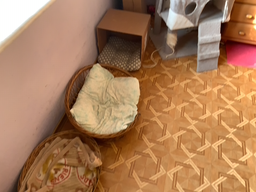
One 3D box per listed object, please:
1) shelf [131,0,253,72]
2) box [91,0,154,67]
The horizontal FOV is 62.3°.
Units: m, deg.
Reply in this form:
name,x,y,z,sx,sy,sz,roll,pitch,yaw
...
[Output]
name,x,y,z,sx,sy,sz,roll,pitch,yaw
shelf,0.540,-1.070,1.620,0.770,1.370,0.920,13,50,10
box,-0.030,-0.590,1.910,0.410,0.360,0.490,12,50,9
